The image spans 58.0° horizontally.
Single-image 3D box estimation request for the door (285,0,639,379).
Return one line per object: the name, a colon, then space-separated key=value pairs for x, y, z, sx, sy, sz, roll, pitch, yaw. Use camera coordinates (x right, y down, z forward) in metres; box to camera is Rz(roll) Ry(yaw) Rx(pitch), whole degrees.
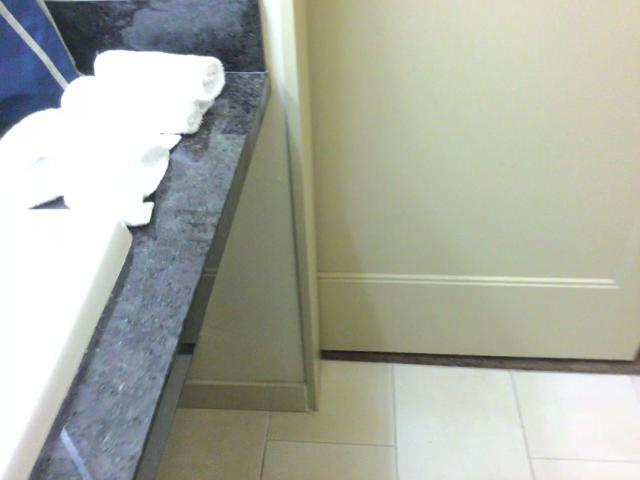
door: x=0.380 y=-0.220 z=1.050 sx=0.840 sy=1.390 sz=0.100 roll=1 pitch=41 yaw=6
